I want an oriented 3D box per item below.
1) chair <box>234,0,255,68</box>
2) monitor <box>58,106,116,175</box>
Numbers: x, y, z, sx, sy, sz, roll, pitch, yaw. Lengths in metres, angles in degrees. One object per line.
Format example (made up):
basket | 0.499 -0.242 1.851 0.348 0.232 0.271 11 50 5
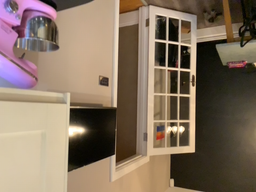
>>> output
chair | 1.690 -0.840 2.740 0.560 0.800 0.720 -1 177 26
monitor | -0.270 0.290 1.610 0.030 0.420 0.670 -1 177 25
